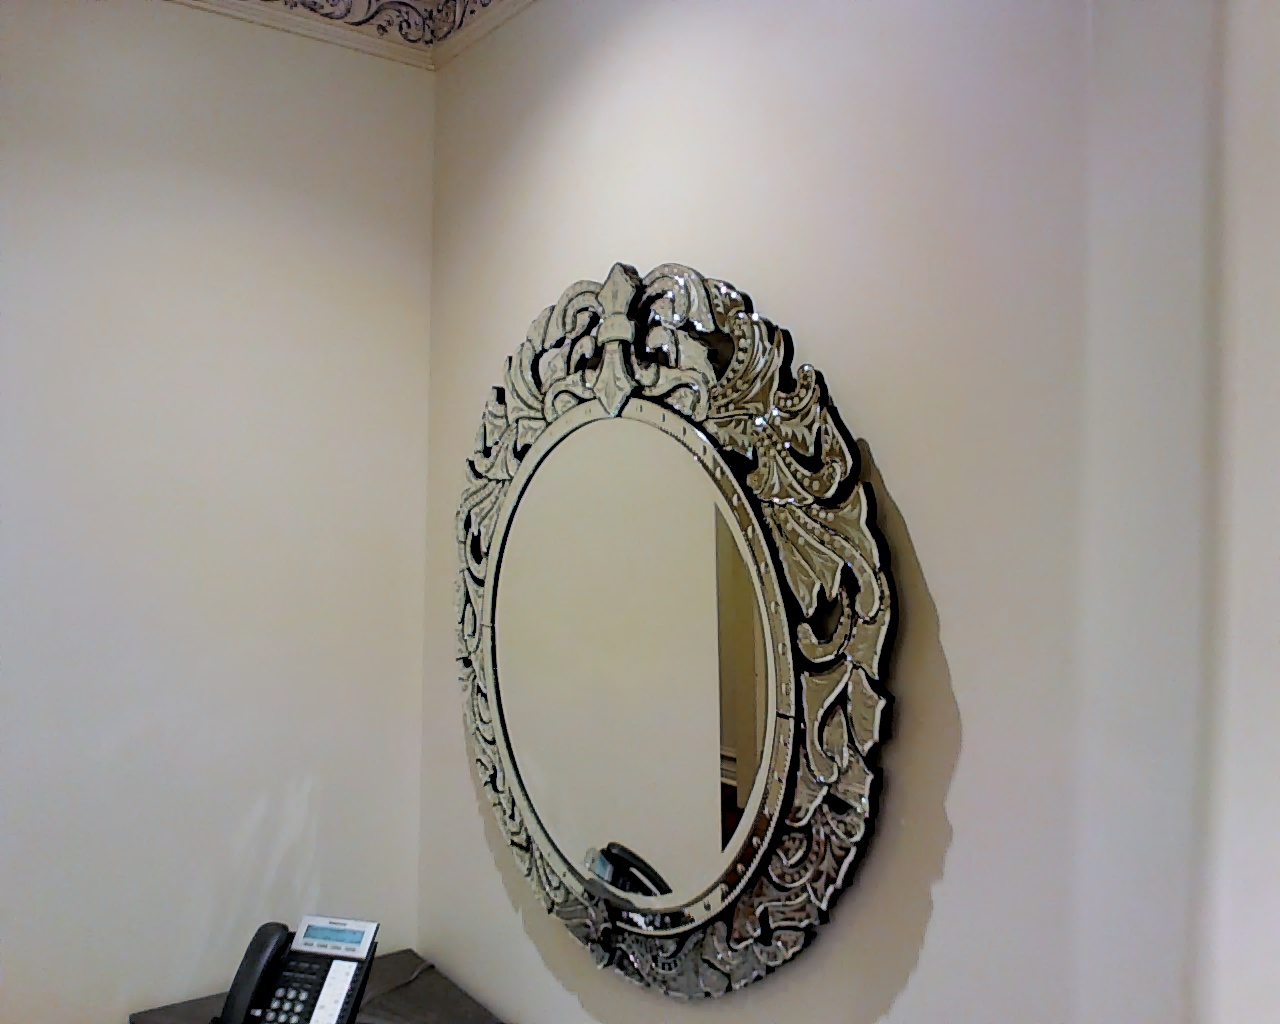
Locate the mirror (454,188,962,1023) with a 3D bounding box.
[{"bbox_3d":[0.010,0.140,1.560,0.110,0.970,1.000,1,0,-36],"label":"mirror"}]
